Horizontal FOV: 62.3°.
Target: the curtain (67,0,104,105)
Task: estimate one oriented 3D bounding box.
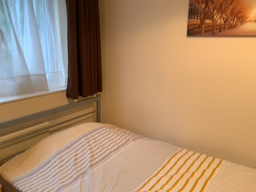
[{"bbox_3d":[-0.430,-0.730,2.200,0.120,1.610,0.370,10,17,33],"label":"curtain"}]
